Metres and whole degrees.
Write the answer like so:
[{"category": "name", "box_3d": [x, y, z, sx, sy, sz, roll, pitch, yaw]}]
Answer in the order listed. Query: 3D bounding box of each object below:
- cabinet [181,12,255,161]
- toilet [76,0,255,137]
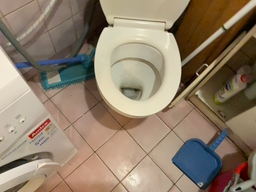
[{"category": "cabinet", "box_3d": [0.660, -0.060, 0.950, 0.340, 0.760, 0.510, -39, 77, -19]}, {"category": "toilet", "box_3d": [0.060, -0.250, 0.940, 0.380, 0.820, 0.670, 5, 67, -4]}]
